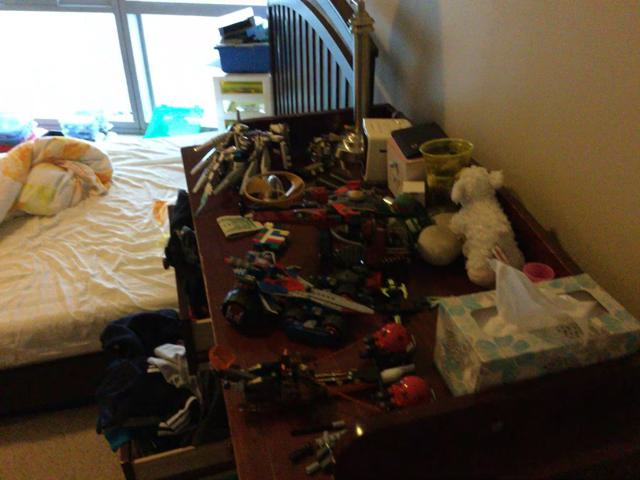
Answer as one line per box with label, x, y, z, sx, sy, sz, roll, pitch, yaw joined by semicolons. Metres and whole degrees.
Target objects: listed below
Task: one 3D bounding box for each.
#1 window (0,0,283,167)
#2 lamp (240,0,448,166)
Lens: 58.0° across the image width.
window;-1.340;-1.270;3.450;2.100;1.080;1.250;4;33;1
lamp;0.030;-0.520;1.300;0.360;0.570;0.380;-6;34;-15
